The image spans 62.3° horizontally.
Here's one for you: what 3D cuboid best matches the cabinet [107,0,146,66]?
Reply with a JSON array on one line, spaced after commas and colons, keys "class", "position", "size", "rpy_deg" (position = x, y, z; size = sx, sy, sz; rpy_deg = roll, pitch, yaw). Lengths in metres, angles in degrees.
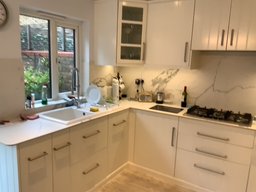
[{"class": "cabinet", "position": [-0.050, -0.920, 3.100], "size": [0.390, 0.910, 0.580], "rpy_deg": [-1, 11, -17]}]
